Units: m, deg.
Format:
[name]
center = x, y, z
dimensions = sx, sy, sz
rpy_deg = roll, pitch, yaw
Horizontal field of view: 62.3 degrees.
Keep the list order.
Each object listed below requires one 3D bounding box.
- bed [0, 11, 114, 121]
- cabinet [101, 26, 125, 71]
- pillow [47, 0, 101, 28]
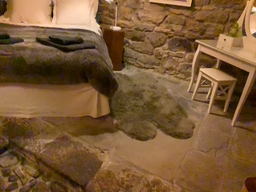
[bed]
center = -1.180, -0.590, 2.880
dimensions = 1.770, 0.680, 2.270
rpy_deg = 2, 27, -10
[cabinet]
center = -0.260, -0.780, 3.490
dimensions = 0.330, 0.660, 0.260
rpy_deg = 3, 27, -7
[pillow]
center = -0.830, -1.400, 3.350
dimensions = 0.760, 0.490, 0.510
rpy_deg = 1, 27, -12
